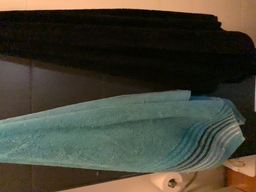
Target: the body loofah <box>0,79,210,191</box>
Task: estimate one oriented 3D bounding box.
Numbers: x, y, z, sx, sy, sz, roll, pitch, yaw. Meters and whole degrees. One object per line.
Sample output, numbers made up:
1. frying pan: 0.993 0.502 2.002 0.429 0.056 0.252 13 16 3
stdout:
1. body loofah: -0.120 0.110 0.610 0.210 0.720 0.300 -168 79 -64
